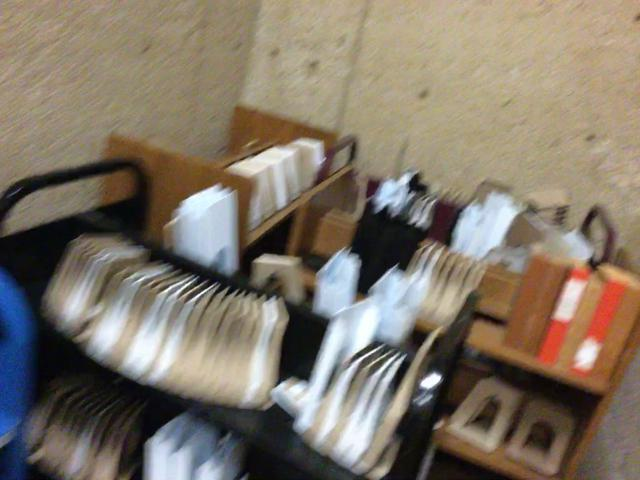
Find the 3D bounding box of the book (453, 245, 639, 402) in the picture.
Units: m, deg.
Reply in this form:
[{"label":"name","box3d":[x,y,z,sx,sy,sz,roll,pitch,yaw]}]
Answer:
[{"label":"book","box3d":[0.500,0.180,1.290,0.340,0.230,0.110,17,23,15]}]

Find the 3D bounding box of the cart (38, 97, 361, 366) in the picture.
[{"label":"cart","box3d":[-0.300,-0.140,1.920,0.510,0.470,1.120,17,23,15]}]
